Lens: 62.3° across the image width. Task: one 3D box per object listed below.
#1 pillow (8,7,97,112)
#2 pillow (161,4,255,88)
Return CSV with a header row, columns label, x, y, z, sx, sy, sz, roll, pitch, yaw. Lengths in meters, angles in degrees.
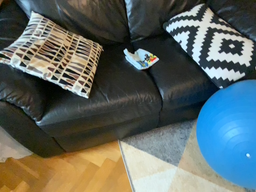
label,x,y,z,sx,sy,sz,roll,pitch,yaw
pillow,-0.370,-0.220,1.130,0.420,0.120,0.490,-36,32,19
pillow,0.480,-0.330,1.250,0.370,0.150,0.580,-13,46,-9
